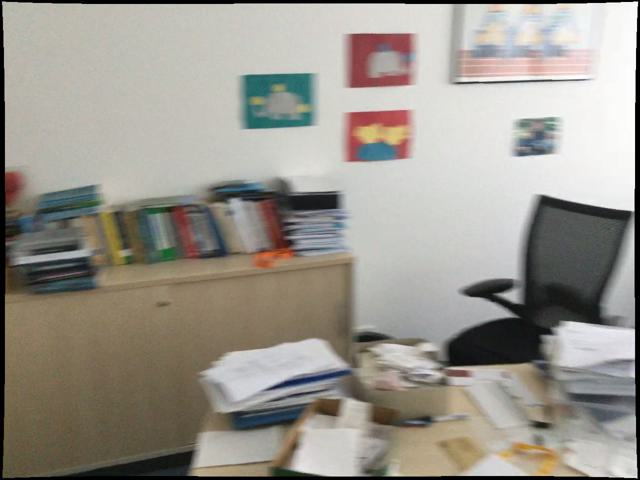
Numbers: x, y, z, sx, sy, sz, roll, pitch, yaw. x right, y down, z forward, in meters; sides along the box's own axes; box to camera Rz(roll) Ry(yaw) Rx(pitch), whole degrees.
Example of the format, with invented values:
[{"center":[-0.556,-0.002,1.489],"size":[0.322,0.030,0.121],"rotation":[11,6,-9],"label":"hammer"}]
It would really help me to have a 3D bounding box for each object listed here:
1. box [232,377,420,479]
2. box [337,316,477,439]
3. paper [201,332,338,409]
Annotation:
[{"center":[0.030,0.490,1.380],"size":[0.320,0.090,0.370],"rotation":[6,19,24],"label":"box"},{"center":[0.230,0.370,1.640],"size":[0.270,0.140,0.360],"rotation":[-7,18,-13],"label":"box"},{"center":[-0.150,0.360,1.640],"size":[0.350,0.050,0.240],"rotation":[-7,18,-13],"label":"paper"}]
